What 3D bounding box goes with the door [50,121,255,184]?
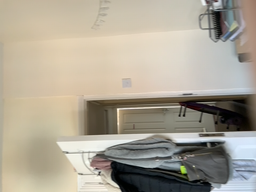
[{"bbox_3d":[0.560,0.480,1.680,0.810,2.080,0.150,81,-173,-53],"label":"door"}]
